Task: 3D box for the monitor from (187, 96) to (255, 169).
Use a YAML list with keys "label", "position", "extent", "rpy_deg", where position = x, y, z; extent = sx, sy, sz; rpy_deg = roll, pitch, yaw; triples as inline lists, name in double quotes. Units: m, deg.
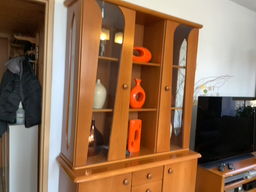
- label: "monitor"
  position: [1.100, 0.370, 2.390]
  extent: [1.080, 0.720, 0.060]
  rpy_deg: [1, 5, -32]
